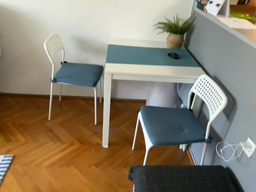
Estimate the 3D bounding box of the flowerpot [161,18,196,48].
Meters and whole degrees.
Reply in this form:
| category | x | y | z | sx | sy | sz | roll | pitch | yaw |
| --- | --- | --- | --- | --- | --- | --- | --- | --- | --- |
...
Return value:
| category | x | y | z | sx | sy | sz | roll | pitch | yaw |
| --- | --- | --- | --- | --- | --- | --- | --- | --- | --- |
| flowerpot | 0.480 | -0.610 | 2.050 | 0.270 | 0.220 | 0.170 | 6 | 32 | -1 |
